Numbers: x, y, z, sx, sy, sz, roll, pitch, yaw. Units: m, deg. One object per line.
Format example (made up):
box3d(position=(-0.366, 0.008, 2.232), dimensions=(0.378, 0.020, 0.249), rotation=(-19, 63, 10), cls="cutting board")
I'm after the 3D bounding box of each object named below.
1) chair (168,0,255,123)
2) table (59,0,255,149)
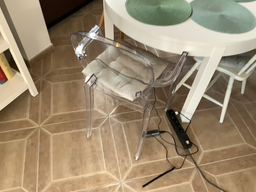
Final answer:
box3d(position=(0.680, -0.320, 1.550), dimensions=(0.440, 0.800, 0.570), rotation=(25, 53, 16), cls="chair")
box3d(position=(0.360, -0.490, 1.680), dimensions=(1.160, 0.770, 1.140), rotation=(27, 54, 18), cls="table")
